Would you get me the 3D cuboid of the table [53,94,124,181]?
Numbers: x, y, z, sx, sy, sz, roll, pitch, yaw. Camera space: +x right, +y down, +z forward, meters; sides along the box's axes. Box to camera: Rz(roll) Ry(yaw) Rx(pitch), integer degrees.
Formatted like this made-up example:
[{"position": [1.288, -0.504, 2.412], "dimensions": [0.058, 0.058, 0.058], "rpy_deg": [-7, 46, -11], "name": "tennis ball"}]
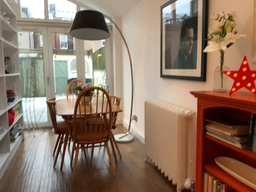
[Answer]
[{"position": [-0.590, 0.420, 2.850], "dimensions": [0.710, 0.720, 1.320], "rpy_deg": [-3, 8, -18], "name": "table"}]
